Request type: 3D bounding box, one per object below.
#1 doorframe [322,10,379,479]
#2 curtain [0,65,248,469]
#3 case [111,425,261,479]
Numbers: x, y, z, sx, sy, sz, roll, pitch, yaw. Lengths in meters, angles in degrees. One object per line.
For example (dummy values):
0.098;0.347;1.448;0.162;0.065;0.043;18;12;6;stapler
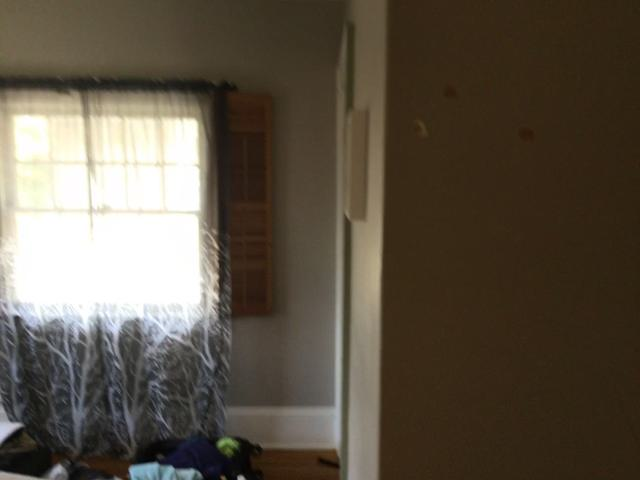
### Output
0.120;0.180;2.700;0.150;2.140;1.020;-1;6;-3;doorframe
-1.120;0.170;3.060;1.420;2.060;0.250;1;6;-3;curtain
-0.610;1.150;2.720;0.620;0.240;0.770;1;6;-3;case
